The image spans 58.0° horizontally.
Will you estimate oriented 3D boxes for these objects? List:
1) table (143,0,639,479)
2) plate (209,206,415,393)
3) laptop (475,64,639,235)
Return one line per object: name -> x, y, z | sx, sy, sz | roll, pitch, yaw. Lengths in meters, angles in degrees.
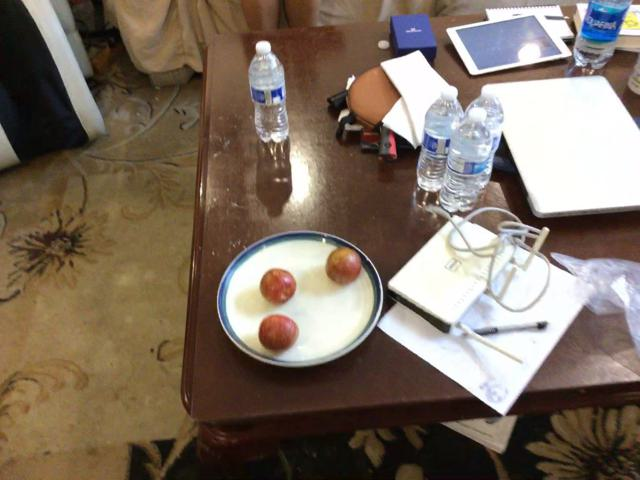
table -> 0.410, -0.090, 1.220 | 1.330, 0.460, 1.050 | -6, 51, -1
plate -> -0.020, 0.080, 0.860 | 0.270, 0.070, 0.250 | -6, 51, -1
laptop -> 0.500, -0.180, 1.060 | 0.330, 0.050, 0.360 | -6, 51, -1
